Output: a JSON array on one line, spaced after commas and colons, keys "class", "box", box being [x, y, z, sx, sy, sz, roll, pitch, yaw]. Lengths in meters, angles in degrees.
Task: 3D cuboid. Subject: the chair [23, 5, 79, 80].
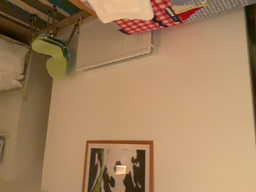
[{"class": "chair", "box": [-0.840, -0.560, 2.350, 0.330, 0.650, 0.410, -7, 165, 38]}]
